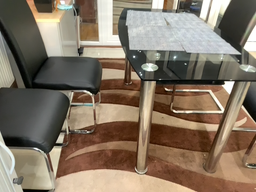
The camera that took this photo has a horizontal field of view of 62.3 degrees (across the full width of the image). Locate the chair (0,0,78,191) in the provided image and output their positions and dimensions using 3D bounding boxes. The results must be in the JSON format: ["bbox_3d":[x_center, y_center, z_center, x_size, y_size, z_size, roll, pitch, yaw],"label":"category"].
[{"bbox_3d":[-0.670,0.050,1.140,0.660,1.040,0.420,0,34,-5],"label":"chair"}]

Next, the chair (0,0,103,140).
[{"bbox_3d":[-0.550,-0.210,1.550,0.660,1.010,0.420,3,34,0],"label":"chair"}]
